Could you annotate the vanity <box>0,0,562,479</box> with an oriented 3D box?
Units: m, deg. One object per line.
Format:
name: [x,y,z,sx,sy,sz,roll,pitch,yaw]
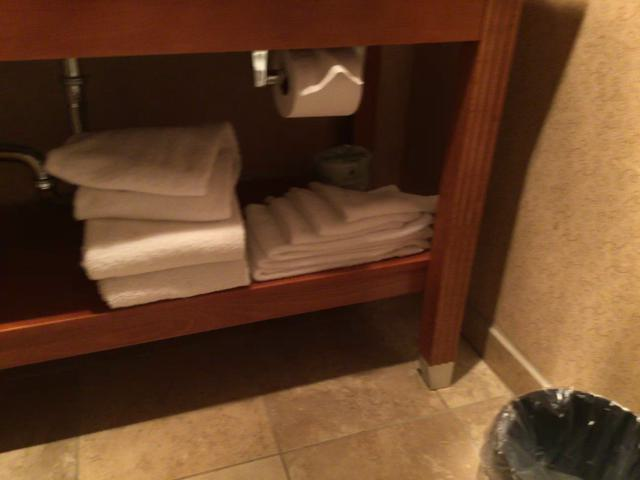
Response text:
vanity: [-0.390,-0.190,0.910,1.310,1.020,0.560,-8,30,-17]
